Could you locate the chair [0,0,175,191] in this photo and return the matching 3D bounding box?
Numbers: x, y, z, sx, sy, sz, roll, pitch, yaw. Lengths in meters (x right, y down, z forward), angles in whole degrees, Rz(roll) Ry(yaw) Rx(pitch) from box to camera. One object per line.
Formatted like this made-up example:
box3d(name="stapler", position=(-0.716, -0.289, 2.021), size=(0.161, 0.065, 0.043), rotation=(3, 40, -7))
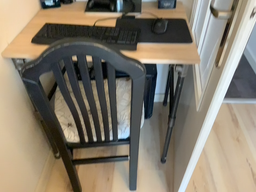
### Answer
box3d(name="chair", position=(-0.170, 0.030, 1.120), size=(0.530, 1.010, 0.620), rotation=(-2, 44, -4))
